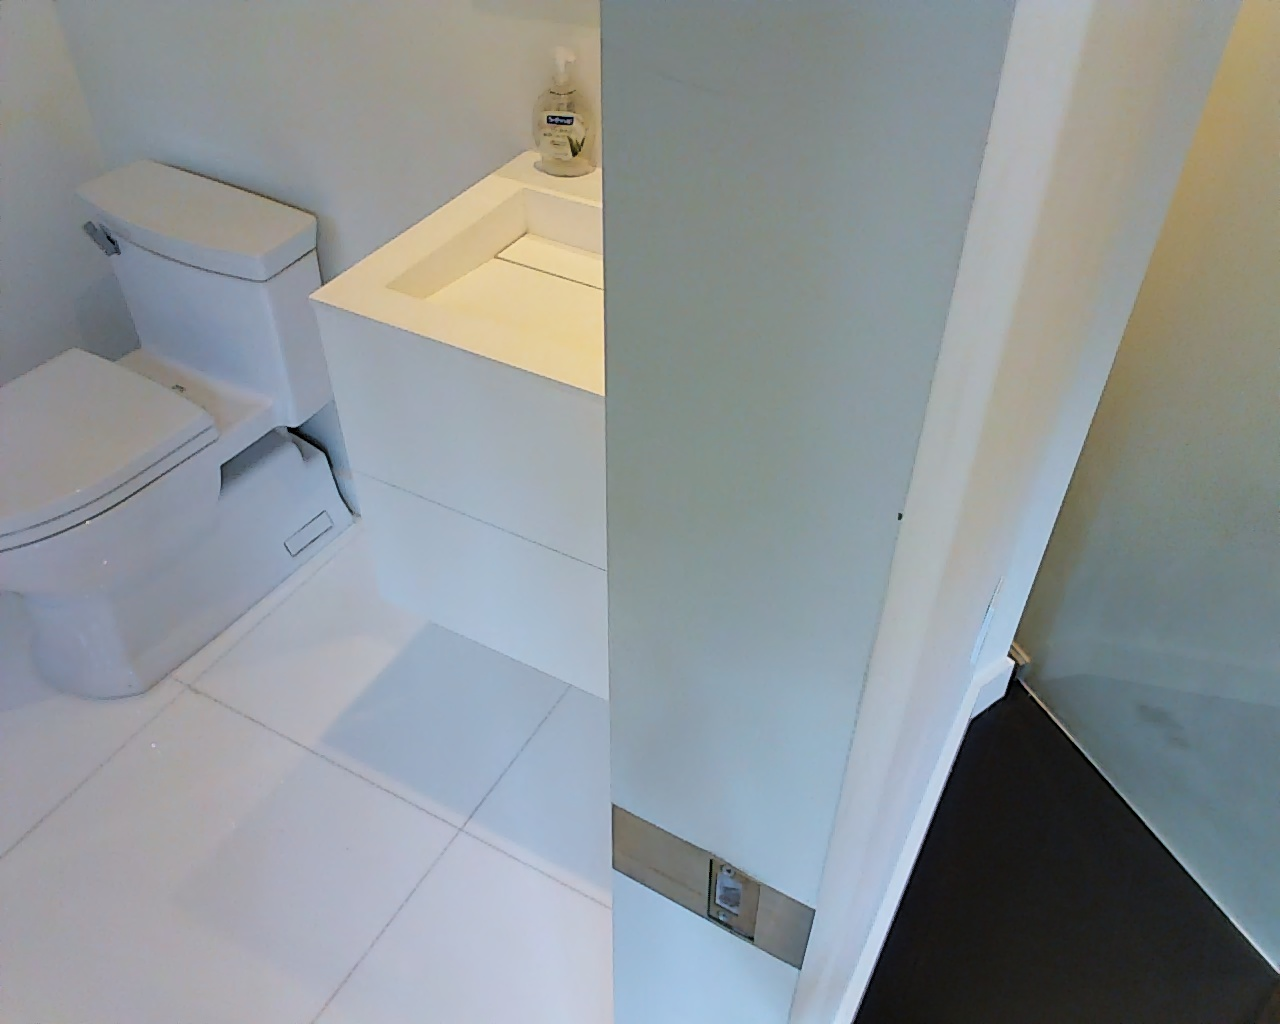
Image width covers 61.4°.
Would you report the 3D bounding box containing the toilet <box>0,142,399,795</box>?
[{"bbox_3d":[-0.940,-0.110,1.910,0.550,0.730,0.760,22,46,22],"label":"toilet"}]
